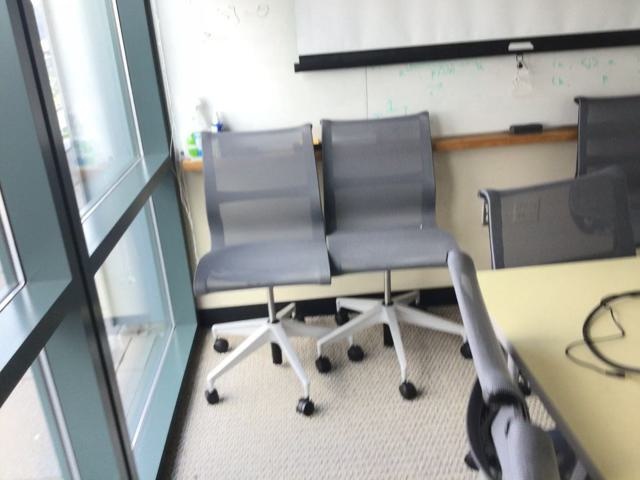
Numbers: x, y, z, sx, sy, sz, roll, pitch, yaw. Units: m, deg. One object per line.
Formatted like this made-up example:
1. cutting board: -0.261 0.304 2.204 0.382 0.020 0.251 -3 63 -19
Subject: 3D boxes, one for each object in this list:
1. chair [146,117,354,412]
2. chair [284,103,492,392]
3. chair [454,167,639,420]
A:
1. chair: -0.220 0.060 2.320 0.580 0.930 0.690 -6 21 1
2. chair: 0.280 0.010 2.310 0.660 0.950 0.590 -5 21 5
3. chair: 0.650 0.120 1.550 0.480 0.480 0.470 -5 21 5
